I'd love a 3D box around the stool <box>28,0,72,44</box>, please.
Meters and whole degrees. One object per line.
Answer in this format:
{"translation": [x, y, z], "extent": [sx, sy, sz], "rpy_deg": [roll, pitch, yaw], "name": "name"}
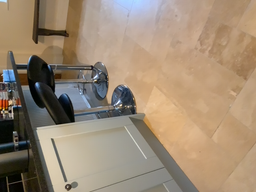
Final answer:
{"translation": [-1.070, -1.420, 2.950], "extent": [0.260, 0.510, 1.350], "rpy_deg": [51, 134, 40], "name": "stool"}
